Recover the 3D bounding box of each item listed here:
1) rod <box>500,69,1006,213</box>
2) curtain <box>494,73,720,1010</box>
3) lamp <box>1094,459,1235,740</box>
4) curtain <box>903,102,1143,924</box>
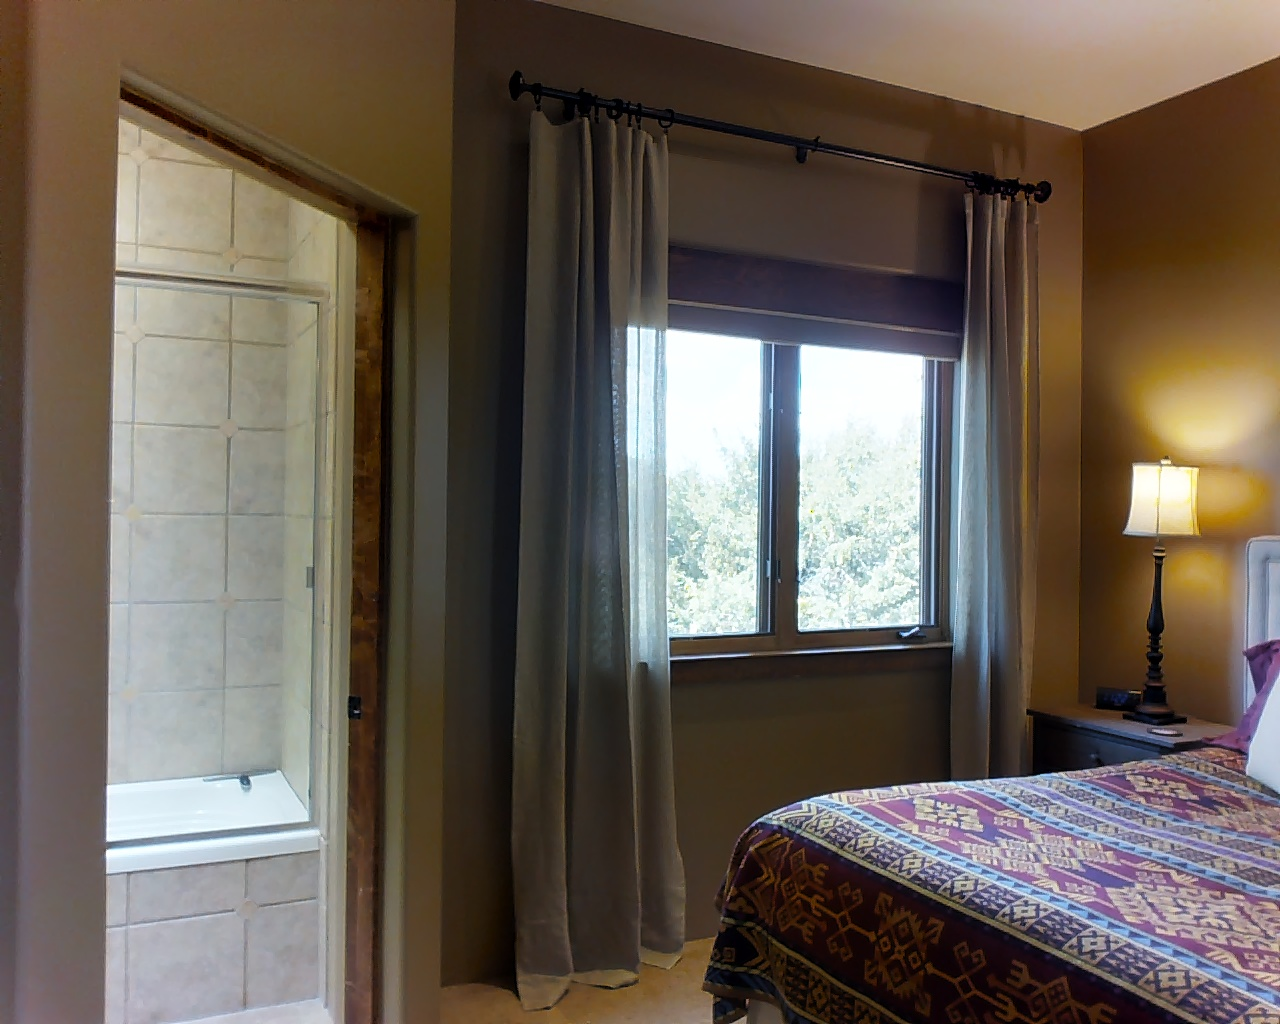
[{"bbox_3d":[0.480,-1.260,3.730,1.980,0.140,0.110,1,0,-25],"label":"rod"},{"bbox_3d":[-0.100,0.090,3.360,0.610,2.731,0.230,1,0,-26],"label":"curtain"},{"bbox_3d":[1.890,0.300,3.870,0.330,0.960,0.300,1,0,-26],"label":"lamp"},{"bbox_3d":[1.490,0.010,4.160,0.830,2.931,0.340,1,0,-26],"label":"curtain"}]
